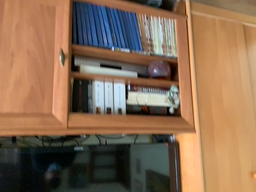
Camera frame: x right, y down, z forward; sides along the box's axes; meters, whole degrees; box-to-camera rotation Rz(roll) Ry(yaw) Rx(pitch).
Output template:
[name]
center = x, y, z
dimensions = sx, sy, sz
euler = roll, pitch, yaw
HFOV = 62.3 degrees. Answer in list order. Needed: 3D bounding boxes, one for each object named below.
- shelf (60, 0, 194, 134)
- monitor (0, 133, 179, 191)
[shelf]
center = -0.050, -0.170, 1.250
dimensions = 0.610, 0.760, 0.510
euler = 3, 170, -21
[monitor]
center = -0.250, 0.530, 1.010
dimensions = 1.090, 0.680, 0.080
euler = 3, 170, -19
